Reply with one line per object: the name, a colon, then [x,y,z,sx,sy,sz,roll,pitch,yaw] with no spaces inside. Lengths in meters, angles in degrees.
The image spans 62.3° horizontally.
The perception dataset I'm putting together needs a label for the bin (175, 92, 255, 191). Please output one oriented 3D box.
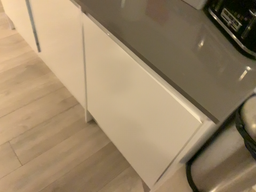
bin: [0.570,0.300,1.070,0.320,0.700,0.320,-28,62,-27]
